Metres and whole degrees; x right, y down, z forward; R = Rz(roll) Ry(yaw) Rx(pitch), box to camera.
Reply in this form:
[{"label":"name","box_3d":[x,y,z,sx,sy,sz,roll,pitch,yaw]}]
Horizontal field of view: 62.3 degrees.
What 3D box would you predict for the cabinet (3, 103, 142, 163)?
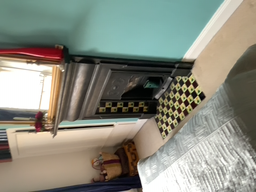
[{"label":"cabinet","box_3d":[-0.820,0.550,3.250,0.960,1.800,0.390,120,141,-47]}]
